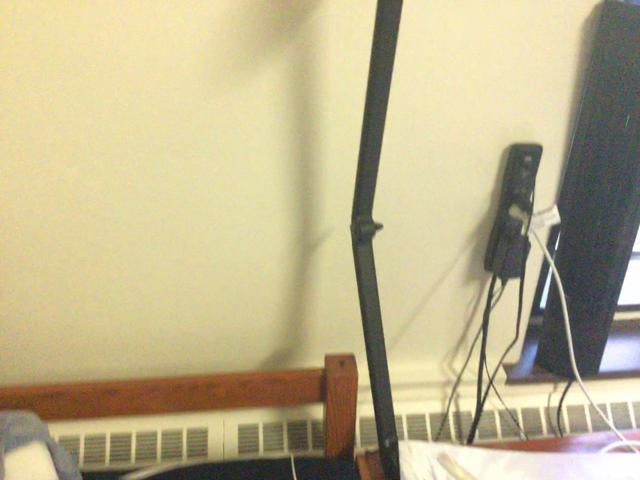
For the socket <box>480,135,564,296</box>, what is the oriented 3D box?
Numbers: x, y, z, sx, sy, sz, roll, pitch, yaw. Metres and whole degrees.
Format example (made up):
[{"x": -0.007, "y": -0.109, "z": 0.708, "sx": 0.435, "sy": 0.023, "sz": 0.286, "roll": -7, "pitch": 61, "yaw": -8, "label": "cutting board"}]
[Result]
[{"x": 0.350, "y": -0.040, "z": 1.020, "sx": 0.080, "sy": 0.270, "sz": 0.080, "roll": -4, "pitch": 28, "yaw": -5, "label": "socket"}]
